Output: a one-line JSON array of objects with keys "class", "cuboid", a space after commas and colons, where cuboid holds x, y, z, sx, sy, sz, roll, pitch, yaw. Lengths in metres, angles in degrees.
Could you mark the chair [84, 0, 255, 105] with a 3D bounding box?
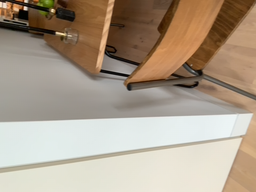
[{"class": "chair", "cuboid": [0.330, -0.300, 0.920, 0.420, 0.830, 0.530, -59, 43, 36]}]
